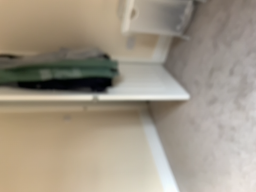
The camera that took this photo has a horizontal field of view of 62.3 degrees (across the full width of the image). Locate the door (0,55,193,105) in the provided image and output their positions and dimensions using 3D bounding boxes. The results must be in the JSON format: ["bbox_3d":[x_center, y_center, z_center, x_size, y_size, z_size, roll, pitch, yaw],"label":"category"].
[{"bbox_3d":[-0.450,-0.180,2.130,0.770,2.060,0.100,-114,28,-54],"label":"door"}]
